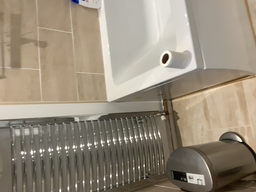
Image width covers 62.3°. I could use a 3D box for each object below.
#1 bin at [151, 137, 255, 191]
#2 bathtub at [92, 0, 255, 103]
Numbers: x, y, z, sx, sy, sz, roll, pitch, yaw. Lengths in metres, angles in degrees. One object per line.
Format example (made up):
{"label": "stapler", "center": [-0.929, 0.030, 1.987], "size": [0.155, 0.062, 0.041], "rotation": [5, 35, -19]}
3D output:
{"label": "bin", "center": [0.430, 0.380, 1.170], "size": [0.330, 0.480, 0.230], "rotation": [-19, 75, 53]}
{"label": "bathtub", "center": [0.180, -0.850, 1.370], "size": [0.710, 0.590, 1.670], "rotation": [-21, 74, 52]}
